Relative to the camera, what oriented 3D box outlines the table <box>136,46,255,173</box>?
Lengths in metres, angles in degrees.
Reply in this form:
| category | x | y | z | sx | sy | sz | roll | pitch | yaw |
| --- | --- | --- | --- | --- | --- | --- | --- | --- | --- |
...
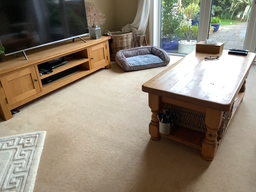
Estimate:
| category | x | y | z | sx | sy | sz | roll | pitch | yaw |
| --- | --- | --- | --- | --- | --- | --- | --- | --- | --- |
| table | 0.670 | -0.030 | 1.880 | 0.600 | 0.480 | 1.270 | 16 | 32 | 31 |

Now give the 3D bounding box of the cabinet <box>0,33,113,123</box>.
| category | x | y | z | sx | sy | sz | roll | pitch | yaw |
| --- | --- | --- | --- | --- | --- | --- | --- | --- | --- |
| cabinet | -0.940 | -0.370 | 2.680 | 0.530 | 0.490 | 1.750 | 15 | 32 | 30 |
